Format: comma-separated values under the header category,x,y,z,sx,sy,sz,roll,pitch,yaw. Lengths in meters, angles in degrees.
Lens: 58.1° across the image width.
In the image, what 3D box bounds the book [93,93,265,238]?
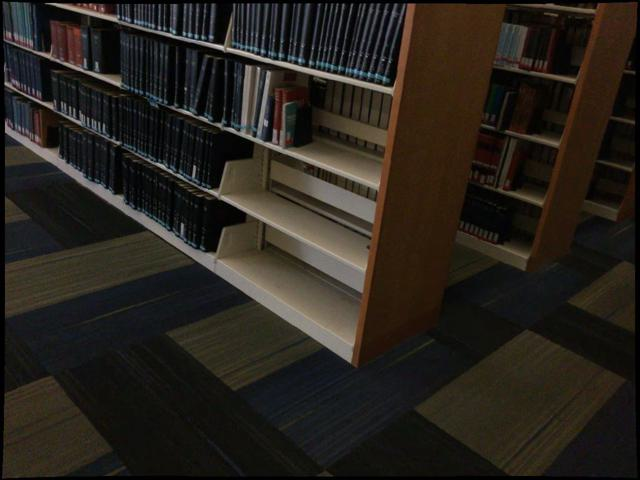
category,x,y,z,sx,sy,sz,roll,pitch,yaw
book,-0.758,-0.421,2.920,1.219,0.391,0.190,26,32,38

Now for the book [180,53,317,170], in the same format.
category,x,y,z,sx,sy,sz,roll,pitch,yaw
book,-0.339,-0.592,2.560,0.649,0.361,0.230,26,32,38

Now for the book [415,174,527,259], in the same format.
category,x,y,z,sx,sy,sz,roll,pitch,yaw
book,0.928,-0.160,3.570,0.519,0.301,0.350,26,32,38

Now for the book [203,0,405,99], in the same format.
category,x,y,z,sx,sy,sz,roll,pitch,yaw
book,-0.120,-0.802,2.190,0.989,0.321,0.090,26,32,38

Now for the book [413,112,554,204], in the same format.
category,x,y,z,sx,sy,sz,roll,pitch,yaw
book,0.967,-0.511,3.450,0.629,0.331,0.440,26,32,38

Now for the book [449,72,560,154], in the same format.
category,x,y,z,sx,sy,sz,roll,pitch,yaw
book,1.037,-0.732,3.270,0.450,0.341,0.310,26,32,38

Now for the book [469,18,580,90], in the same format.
category,x,y,z,sx,sy,sz,roll,pitch,yaw
book,1.107,-1.023,3.140,0.390,0.301,0.380,26,32,38

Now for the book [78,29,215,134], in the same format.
category,x,y,z,sx,sy,sz,roll,pitch,yaw
book,-0.888,-0.822,2.890,0.919,0.341,0.210,26,32,38
